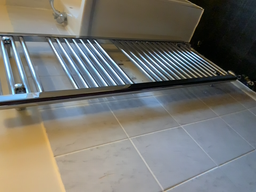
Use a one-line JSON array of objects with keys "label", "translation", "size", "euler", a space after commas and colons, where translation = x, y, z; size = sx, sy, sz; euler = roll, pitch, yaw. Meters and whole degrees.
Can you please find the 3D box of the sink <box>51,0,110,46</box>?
[{"label": "sink", "translation": [-0.310, -0.630, 1.310], "size": [0.530, 0.160, 0.440], "euler": [51, 135, 40]}]
